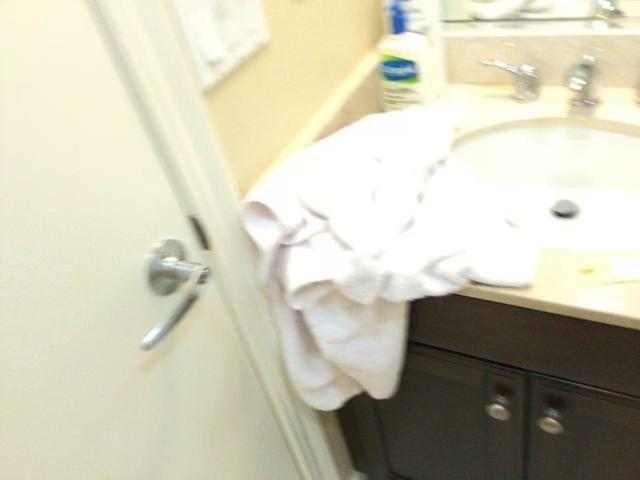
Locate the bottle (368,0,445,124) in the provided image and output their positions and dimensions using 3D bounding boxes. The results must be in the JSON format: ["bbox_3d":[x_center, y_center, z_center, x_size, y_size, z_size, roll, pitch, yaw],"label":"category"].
[{"bbox_3d":[0.160,-0.320,1.040,0.090,0.200,0.080,8,42,29],"label":"bottle"}]

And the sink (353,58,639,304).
[{"bbox_3d":[0.400,-0.120,0.960,0.560,0.220,0.360,8,42,29],"label":"sink"}]
